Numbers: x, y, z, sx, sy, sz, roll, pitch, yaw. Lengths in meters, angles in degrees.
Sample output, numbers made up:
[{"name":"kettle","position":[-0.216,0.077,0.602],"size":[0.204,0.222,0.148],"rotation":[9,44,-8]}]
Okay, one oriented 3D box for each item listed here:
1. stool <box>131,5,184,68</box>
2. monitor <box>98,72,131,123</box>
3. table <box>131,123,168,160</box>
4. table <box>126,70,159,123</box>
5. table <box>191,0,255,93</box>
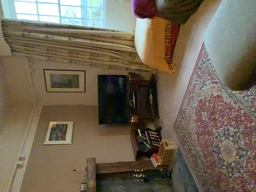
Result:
[{"name":"stool","position":[0.390,-0.900,3.190],"size":[0.680,0.490,0.710],"rotation":[-107,21,-54]},{"name":"monitor","position":[-0.250,0.020,3.780],"size":[0.050,0.560,0.900],"rotation":[133,136,-73]},{"name":"table","position":[0.330,0.730,3.480],"size":[0.560,0.450,0.230],"rotation":[-106,20,-53]},{"name":"table","position":[0.250,0.020,3.860],"size":[0.370,0.460,0.900],"rotation":[135,133,-73]},{"name":"table","position":[0.800,-0.470,1.320],"size":[0.770,0.370,0.570],"rotation":[107,159,-54]}]
